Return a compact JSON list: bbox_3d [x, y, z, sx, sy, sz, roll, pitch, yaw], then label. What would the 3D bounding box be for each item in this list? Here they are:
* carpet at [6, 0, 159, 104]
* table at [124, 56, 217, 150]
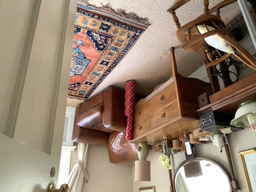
[{"bbox_3d":[-0.670,-0.340,2.390,1.090,0.040,1.840,14,151,-29],"label":"carpet"},{"bbox_3d":[0.430,0.160,2.600,0.560,0.780,0.980,12,152,-26],"label":"table"}]
